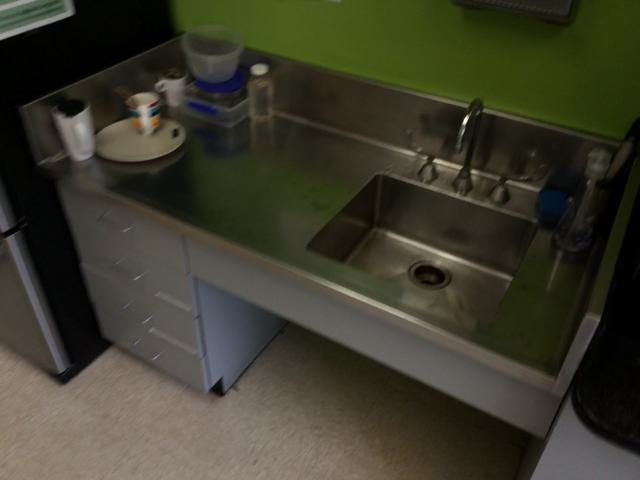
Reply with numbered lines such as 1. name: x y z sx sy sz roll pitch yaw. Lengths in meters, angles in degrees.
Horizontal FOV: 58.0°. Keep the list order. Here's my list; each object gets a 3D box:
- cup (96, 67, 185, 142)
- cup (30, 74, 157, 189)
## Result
1. cup: -0.530 -0.410 1.730 0.150 0.130 0.190 22 41 22
2. cup: -0.620 -0.310 1.620 0.130 0.200 0.290 22 41 22
